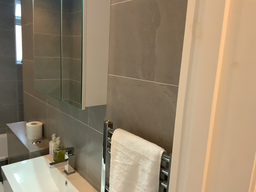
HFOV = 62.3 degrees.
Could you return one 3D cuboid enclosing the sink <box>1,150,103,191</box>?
[{"bbox_3d":[-0.460,0.530,1.220,0.360,0.130,0.620,-6,15,-40],"label":"sink"}]
